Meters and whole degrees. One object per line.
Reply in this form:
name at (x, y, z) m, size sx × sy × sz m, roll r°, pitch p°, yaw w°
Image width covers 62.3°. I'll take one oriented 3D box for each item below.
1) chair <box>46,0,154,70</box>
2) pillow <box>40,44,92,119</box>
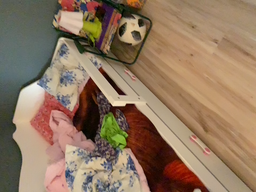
chair at (-0.210, -0.500, 1.540) m, size 0.410 × 0.550 × 0.410 m, roll 48°, pitch 122°, yaw 37°
pillow at (-0.490, -0.110, 1.620) m, size 0.370 × 0.150 × 0.420 m, roll 45°, pitch 120°, yaw 38°
